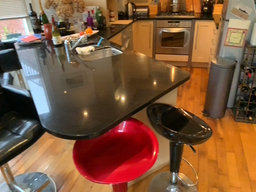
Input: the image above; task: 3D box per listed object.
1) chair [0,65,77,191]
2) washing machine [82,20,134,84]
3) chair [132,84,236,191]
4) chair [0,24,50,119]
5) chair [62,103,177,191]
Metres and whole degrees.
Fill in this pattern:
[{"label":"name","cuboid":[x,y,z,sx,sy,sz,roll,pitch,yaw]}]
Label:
[{"label":"chair","cuboid":[-0.870,0.370,1.400,0.650,0.930,0.630,14,33,27]},{"label":"washing machine","cuboid":[-0.280,-0.740,3.490,0.600,0.870,0.590,7,31,17]},{"label":"chair","cuboid":[0.330,0.390,1.460,0.440,0.760,0.420,-15,32,-21]},{"label":"chair","cuboid":[-1.440,-0.330,2.690,0.660,0.940,0.680,-11,30,-16]},{"label":"chair","cuboid":[-0.050,0.520,1.240,0.410,0.760,0.440,-18,33,-27]}]
